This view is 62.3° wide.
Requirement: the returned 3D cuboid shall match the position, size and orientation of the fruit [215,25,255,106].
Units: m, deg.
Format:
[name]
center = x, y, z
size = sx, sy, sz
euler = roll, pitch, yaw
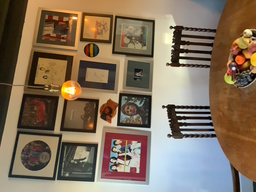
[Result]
[fruit]
center = 0.680, -0.190, 1.260
size = 0.310, 0.090, 0.400
euler = -98, 14, -65
